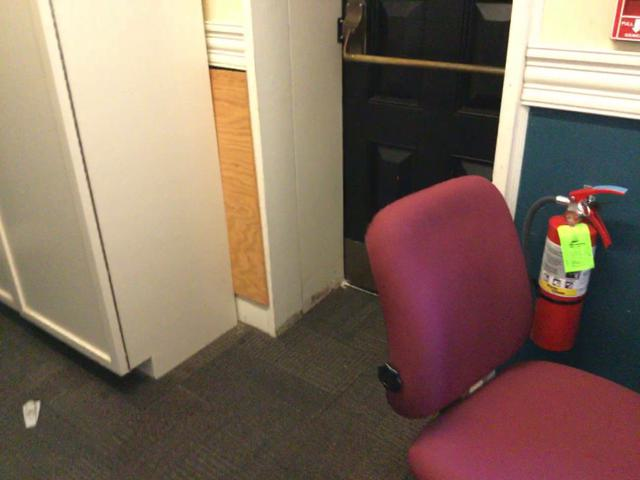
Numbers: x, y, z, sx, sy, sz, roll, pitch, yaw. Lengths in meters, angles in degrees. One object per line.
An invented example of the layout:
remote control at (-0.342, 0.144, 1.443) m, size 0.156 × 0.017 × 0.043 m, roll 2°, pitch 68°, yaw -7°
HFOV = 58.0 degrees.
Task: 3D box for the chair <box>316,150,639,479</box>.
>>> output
chair at (0.420, 0.380, 1.200) m, size 0.550 × 0.910 × 0.630 m, roll -23°, pitch 33°, yaw -36°

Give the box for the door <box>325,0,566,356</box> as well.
door at (0.370, -0.460, 1.940) m, size 0.740 × 1.690 × 0.150 m, roll 17°, pitch 32°, yaw 32°

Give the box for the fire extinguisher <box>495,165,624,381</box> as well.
fire extinguisher at (0.560, 0.080, 1.380) m, size 0.190 × 0.470 × 0.130 m, roll 17°, pitch 32°, yaw 32°
